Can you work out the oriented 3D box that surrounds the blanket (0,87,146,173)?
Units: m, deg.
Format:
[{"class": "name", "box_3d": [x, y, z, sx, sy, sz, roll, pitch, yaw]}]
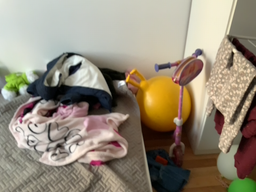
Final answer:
[{"class": "blanket", "box_3d": [-0.290, 0.170, 1.190, 0.730, 0.200, 0.410, -3, 39, -1]}]
